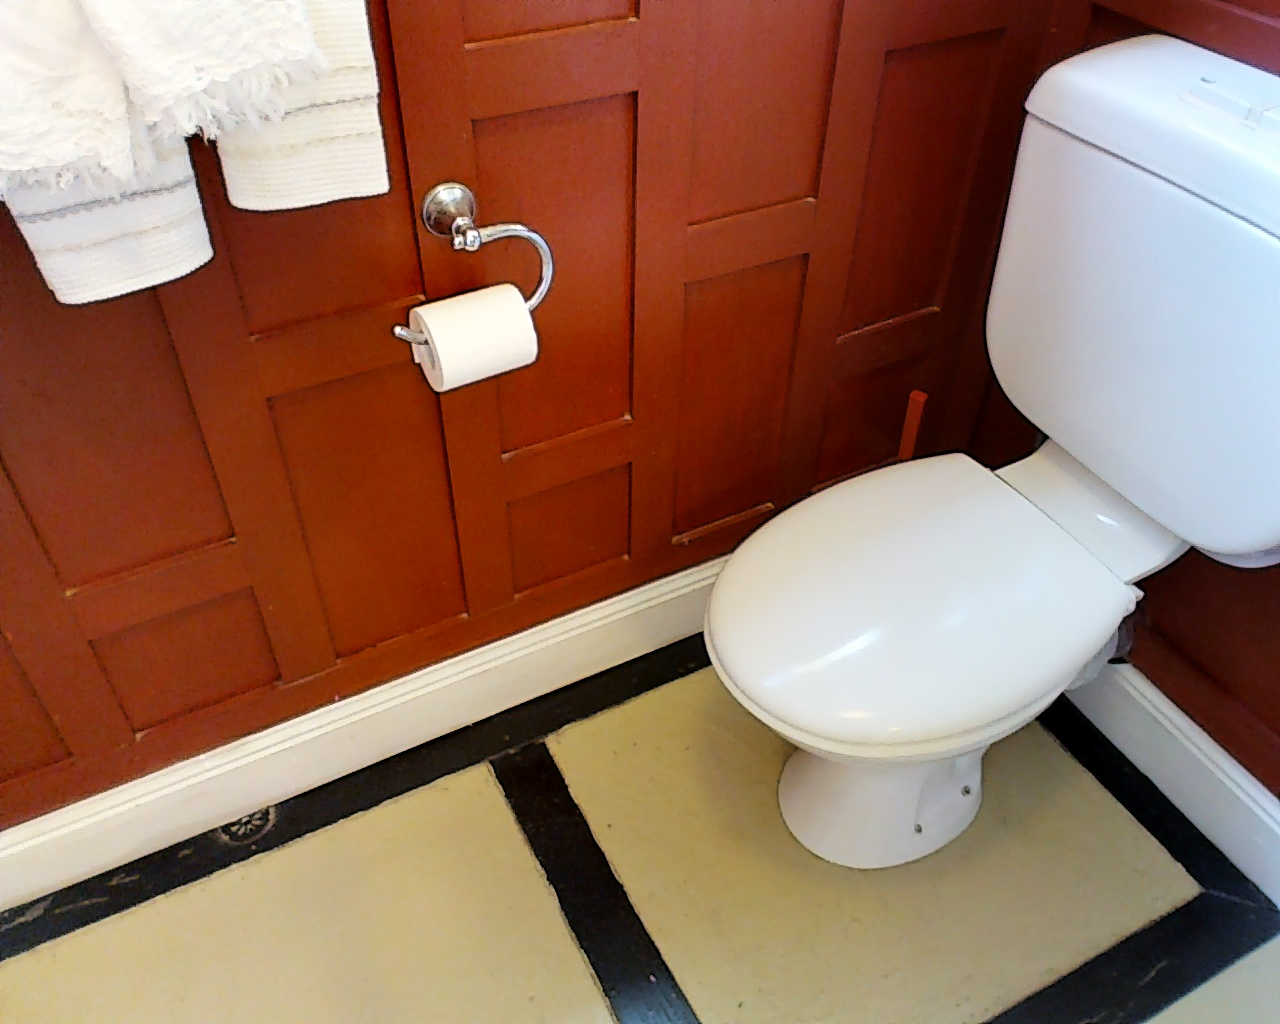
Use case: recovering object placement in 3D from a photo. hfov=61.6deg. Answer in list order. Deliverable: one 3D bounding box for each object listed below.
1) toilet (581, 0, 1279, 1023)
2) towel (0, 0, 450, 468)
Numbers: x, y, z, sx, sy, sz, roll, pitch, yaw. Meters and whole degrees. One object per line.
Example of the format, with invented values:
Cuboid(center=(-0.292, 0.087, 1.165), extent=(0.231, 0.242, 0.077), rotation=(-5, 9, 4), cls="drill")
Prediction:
Cuboid(center=(0.360, 0.030, 1.230), extent=(0.650, 0.920, 0.550), rotation=(-20, 47, -21), cls="toilet")
Cuboid(center=(-0.480, -0.260, 0.750), extent=(0.620, 0.430, 0.170), rotation=(-20, 47, -20), cls="towel")
